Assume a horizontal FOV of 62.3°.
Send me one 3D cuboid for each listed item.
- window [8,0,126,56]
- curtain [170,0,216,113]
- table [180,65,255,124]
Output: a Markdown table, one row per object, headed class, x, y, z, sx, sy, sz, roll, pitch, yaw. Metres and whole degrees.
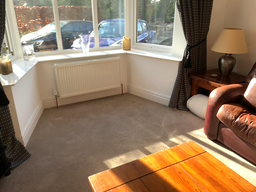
| class | x | y | z | sx | sy | sz | roll | pitch | yaw |
| --- | --- | --- | --- | --- | --- | --- | --- | --- | --- |
| window | -0.830 | -1.530 | 3.210 | 1.790 | 1.650 | 0.080 | -13 | 26 | -28 |
| curtain | 0.890 | -0.930 | 2.820 | 0.500 | 2.410 | 0.140 | -11 | 25 | -24 |
| table | 1.230 | -0.060 | 2.990 | 0.680 | 0.540 | 0.630 | -12 | 26 | -26 |
